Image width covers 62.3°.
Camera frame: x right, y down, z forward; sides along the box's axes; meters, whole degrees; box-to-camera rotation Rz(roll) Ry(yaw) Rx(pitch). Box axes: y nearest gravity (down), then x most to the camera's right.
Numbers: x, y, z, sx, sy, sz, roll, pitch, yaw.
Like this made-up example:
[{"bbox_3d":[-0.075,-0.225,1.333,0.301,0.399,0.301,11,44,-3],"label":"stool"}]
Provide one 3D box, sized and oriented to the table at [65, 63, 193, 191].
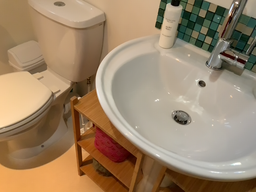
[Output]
[{"bbox_3d":[-0.020,0.230,1.020,0.350,0.590,0.360,34,48,24],"label":"table"}]
